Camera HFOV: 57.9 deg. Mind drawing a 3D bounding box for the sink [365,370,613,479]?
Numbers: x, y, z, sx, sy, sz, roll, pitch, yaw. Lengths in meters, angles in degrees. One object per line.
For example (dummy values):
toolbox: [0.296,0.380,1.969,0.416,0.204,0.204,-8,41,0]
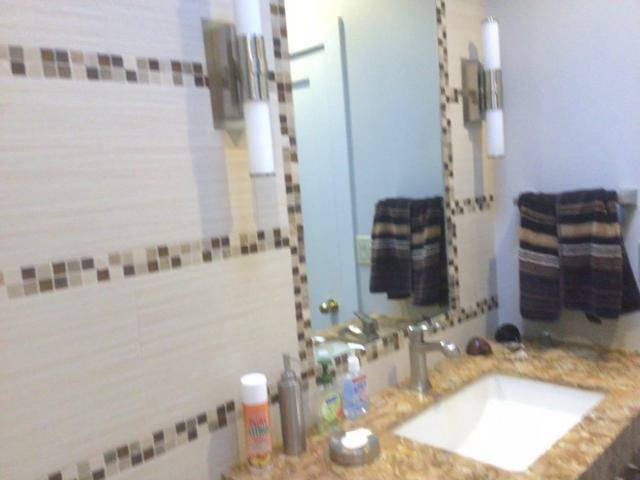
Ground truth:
sink: [0.410,0.480,1.350,0.340,0.170,0.520,-1,5,45]
